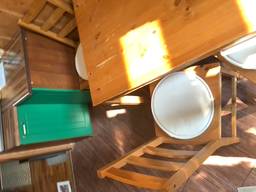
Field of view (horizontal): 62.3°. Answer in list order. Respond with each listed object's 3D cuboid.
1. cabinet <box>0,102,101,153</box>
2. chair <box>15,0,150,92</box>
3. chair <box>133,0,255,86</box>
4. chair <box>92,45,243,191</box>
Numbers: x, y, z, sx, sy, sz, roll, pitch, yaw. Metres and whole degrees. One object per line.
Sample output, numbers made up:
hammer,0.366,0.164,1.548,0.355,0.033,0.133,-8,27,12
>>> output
cabinet,-0.770,0.290,2.070,0.490,0.850,0.320,-25,73,38
chair,-0.300,-0.350,1.650,0.400,0.890,0.500,-23,74,38
chair,0.540,-0.270,0.920,0.520,0.880,0.340,39,113,34
chair,0.280,0.100,1.140,0.400,0.880,0.500,-3,87,41
